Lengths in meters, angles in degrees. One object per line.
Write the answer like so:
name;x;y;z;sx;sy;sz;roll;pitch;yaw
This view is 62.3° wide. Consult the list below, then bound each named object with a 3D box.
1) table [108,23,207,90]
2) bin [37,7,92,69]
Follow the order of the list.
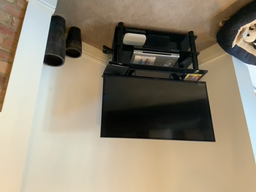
table;0.260;-0.370;2.170;0.880;0.430;0.440;4;157;-10
bin;-0.560;-0.510;1.920;0.380;0.370;0.220;18;151;-37
